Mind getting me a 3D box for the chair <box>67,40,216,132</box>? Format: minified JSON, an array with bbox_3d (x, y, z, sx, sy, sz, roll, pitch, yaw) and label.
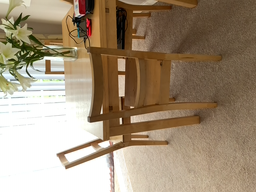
[{"bbox_3d":[0.070,-0.100,1.360,0.450,0.810,0.430,24,113,59],"label":"chair"}]
